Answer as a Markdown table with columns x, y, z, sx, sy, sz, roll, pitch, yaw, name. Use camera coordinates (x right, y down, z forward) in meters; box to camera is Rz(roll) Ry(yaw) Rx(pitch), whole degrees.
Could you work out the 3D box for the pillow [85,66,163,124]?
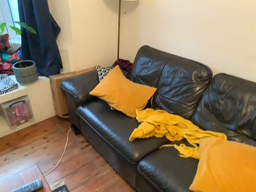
| x | y | z | sx | sy | sz | roll | pitch | yaw | name |
| --- | --- | --- | --- | --- | --- | --- | --- | --- | --- |
| -0.030 | -0.040 | 1.870 | 0.490 | 0.200 | 0.460 | 22 | 37 | 30 | pillow |
